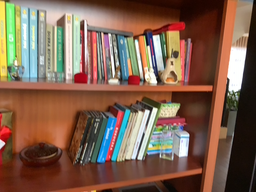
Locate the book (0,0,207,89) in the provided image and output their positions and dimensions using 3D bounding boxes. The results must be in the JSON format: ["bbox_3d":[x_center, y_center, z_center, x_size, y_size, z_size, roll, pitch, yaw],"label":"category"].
[{"bbox_3d":[-0.150,-0.220,0.910,0.900,0.290,0.310,2,9,-21],"label":"book"}]

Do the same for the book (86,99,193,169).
[{"bbox_3d":[0.050,0.180,1.130,0.500,0.280,0.220,1,10,-19],"label":"book"}]
